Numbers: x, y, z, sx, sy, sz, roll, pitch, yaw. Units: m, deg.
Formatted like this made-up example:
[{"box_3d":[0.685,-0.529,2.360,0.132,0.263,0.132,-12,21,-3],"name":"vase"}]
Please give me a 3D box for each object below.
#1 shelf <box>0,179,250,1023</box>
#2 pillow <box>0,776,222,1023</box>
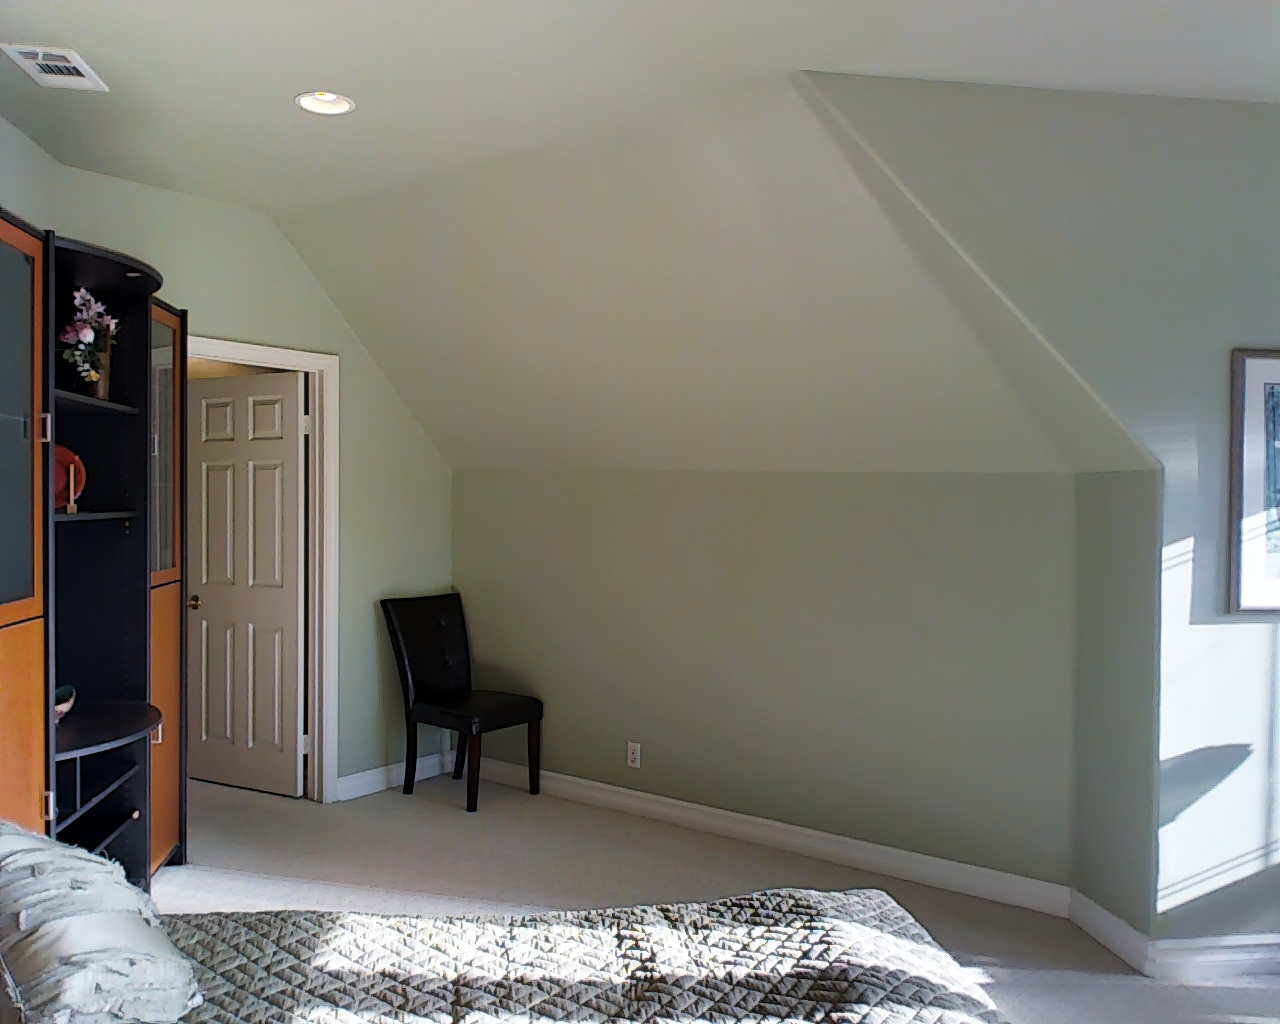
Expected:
[{"box_3d":[-1.750,0.300,3.300,0.640,2.140,1.740,0,0,-7],"name":"shelf"},{"box_3d":[-0.970,0.720,1.810,0.440,0.380,0.530,0,0,-27],"name":"pillow"}]
